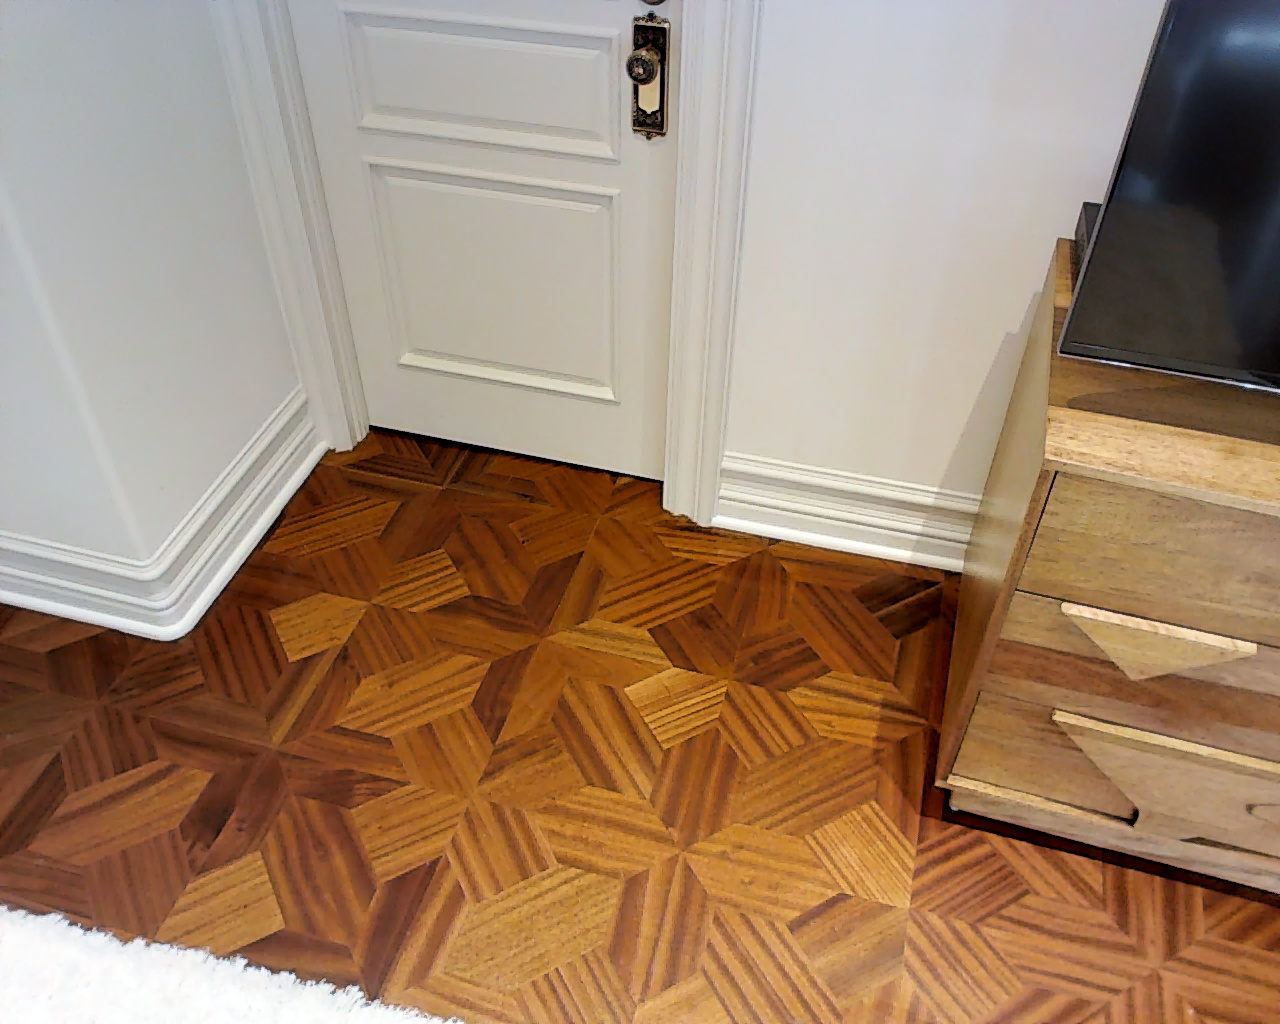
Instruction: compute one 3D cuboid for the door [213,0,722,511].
[{"bbox_3d":[-0.310,-1.000,1.700,0.900,2.430,0.060,10,43,11],"label":"door"}]
